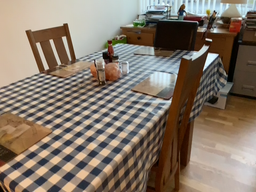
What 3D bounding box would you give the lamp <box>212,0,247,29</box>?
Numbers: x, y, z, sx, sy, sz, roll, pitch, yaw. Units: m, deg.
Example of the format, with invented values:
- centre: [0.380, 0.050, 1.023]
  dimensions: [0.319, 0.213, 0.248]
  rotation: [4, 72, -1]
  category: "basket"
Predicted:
- centre: [1.240, -1.080, 2.560]
  dimensions: [0.290, 0.460, 0.300]
  rotation: [16, 32, 31]
  category: "lamp"
